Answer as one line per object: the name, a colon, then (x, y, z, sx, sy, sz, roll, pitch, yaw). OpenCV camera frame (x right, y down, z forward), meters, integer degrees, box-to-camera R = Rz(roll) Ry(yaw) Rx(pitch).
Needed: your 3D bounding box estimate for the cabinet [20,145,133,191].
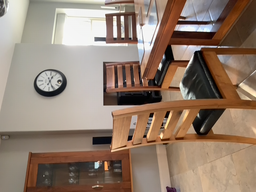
cabinet: (-0.770, 1.450, 3.330, 0.360, 1.640, 1.230, 108, 160, -66)
